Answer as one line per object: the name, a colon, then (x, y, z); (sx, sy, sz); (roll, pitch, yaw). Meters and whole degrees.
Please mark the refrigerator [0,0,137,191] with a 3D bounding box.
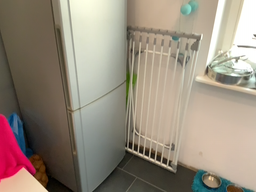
refrigerator: (-0.380, -0.180, 1.470); (0.630, 1.670, 0.590); (18, 32, 29)
